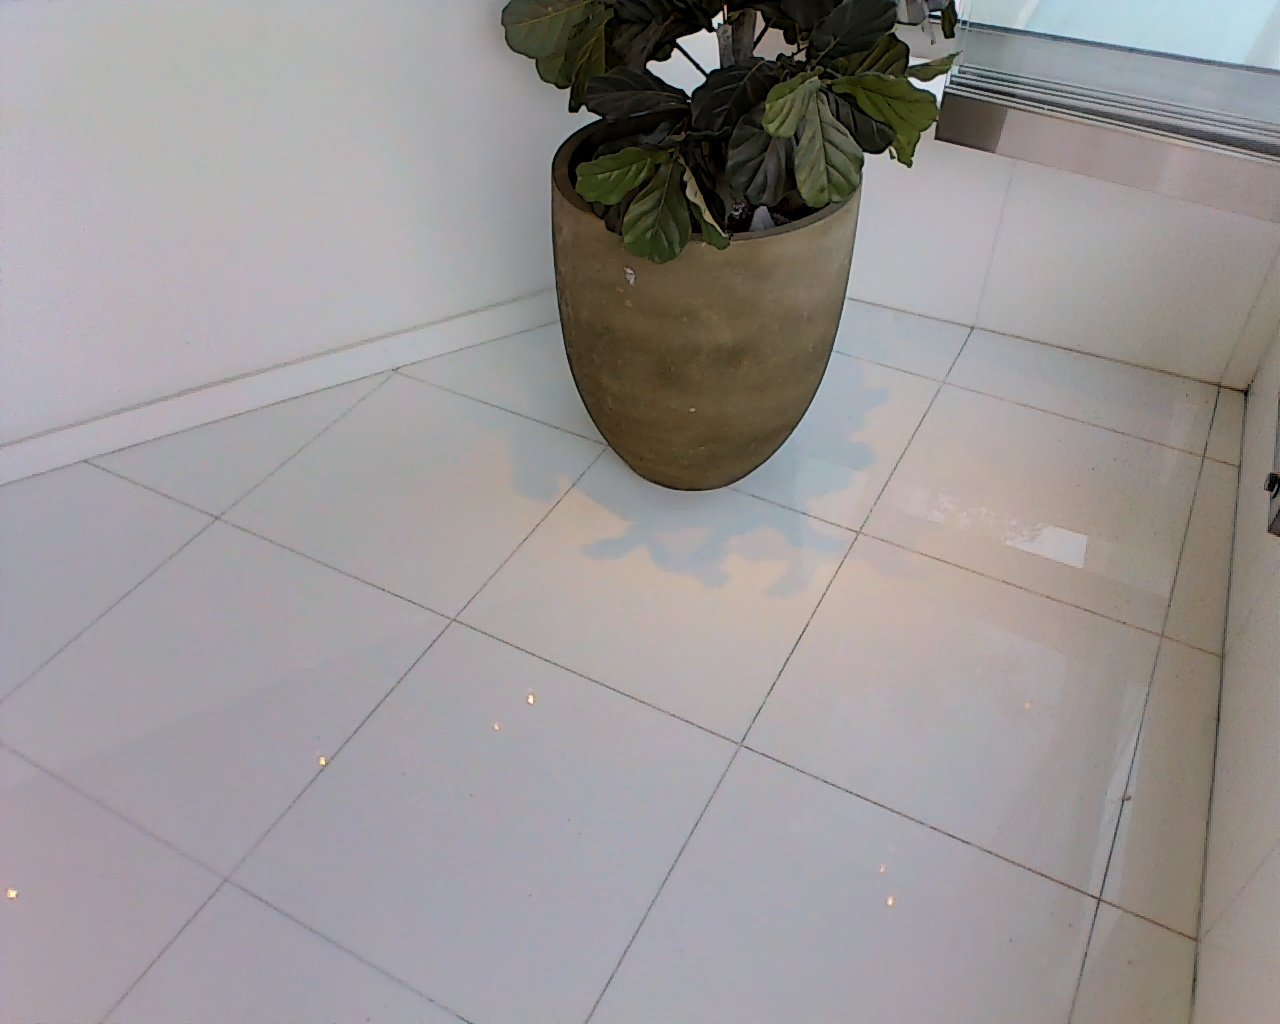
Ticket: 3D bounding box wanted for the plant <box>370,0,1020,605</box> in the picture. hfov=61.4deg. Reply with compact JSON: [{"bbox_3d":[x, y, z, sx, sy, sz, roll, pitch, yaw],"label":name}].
[{"bbox_3d":[0.120,-0.830,1.940,0.880,1.830,0.910,6,43,6],"label":"plant"}]
